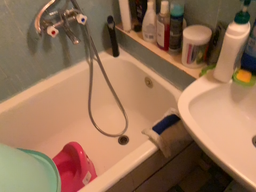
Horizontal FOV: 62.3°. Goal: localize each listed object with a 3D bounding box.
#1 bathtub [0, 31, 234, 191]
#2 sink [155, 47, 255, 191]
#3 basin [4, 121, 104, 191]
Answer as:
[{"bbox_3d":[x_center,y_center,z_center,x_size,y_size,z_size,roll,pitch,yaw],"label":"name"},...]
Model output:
[{"bbox_3d":[-0.280,0.340,1.080,1.390,0.600,0.690,-32,51,-19],"label":"bathtub"},{"bbox_3d":[0.400,0.120,0.640,0.400,0.190,0.500,-32,51,-19],"label":"sink"},{"bbox_3d":[-0.350,0.360,1.070,0.310,0.230,0.290,23,55,26],"label":"basin"}]
